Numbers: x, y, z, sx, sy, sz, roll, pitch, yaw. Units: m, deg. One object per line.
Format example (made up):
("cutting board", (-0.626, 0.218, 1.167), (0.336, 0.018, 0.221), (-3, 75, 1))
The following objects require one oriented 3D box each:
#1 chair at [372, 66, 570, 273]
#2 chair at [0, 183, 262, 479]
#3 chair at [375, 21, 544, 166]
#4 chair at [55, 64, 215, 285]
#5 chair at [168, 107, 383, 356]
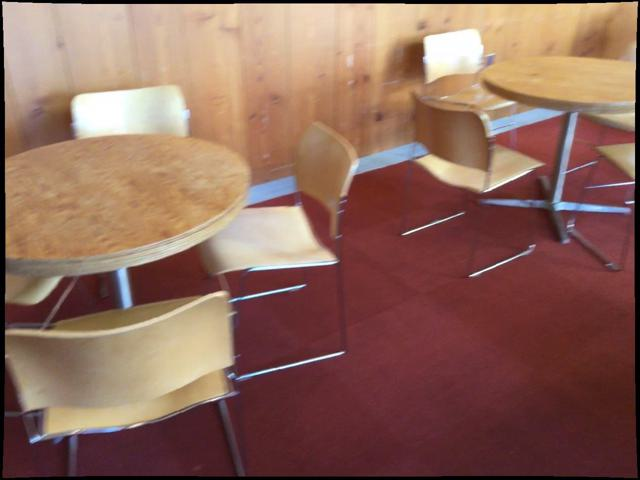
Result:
("chair", (0.659, -0.350, 2.660), (0.610, 0.690, 0.510), (-19, 37, -29))
("chair", (-0.509, 0.310, 1.530), (0.570, 0.680, 0.540), (-10, 34, -17))
("chair", (0.819, -0.931, 3.560), (0.580, 0.610, 0.740), (-19, 38, -29))
("chair", (-0.789, -0.330, 2.610), (0.510, 0.690, 0.770), (-6, 33, -11))
("chair", (-0.180, -0.060, 2.110), (0.599, 0.640, 0.540), (-9, 34, -16))
